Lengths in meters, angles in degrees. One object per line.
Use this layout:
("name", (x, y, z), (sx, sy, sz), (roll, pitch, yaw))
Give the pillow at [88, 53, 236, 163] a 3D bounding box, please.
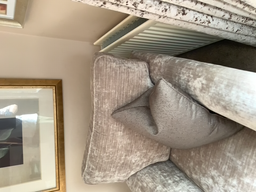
("pillow", (0.160, 0.120, 1.060), (0.480, 0.510, 0.230), (-26, 38, 50))
